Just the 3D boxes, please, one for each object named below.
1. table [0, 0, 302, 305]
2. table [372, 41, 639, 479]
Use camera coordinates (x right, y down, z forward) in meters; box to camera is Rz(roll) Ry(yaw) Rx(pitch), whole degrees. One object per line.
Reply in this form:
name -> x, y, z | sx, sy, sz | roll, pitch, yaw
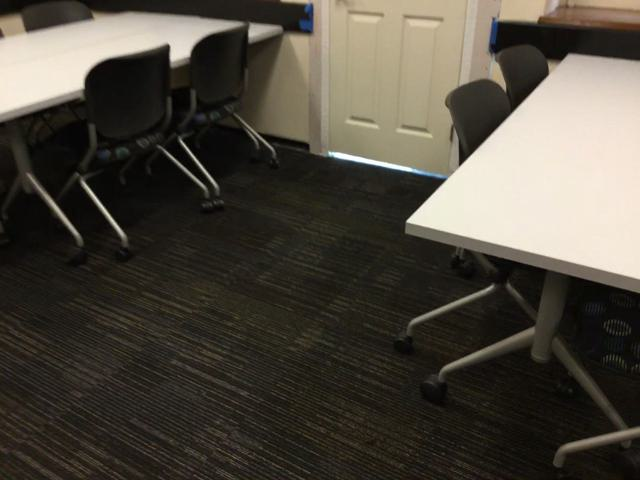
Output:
table -> -1.180, -0.670, 2.980 | 1.430, 0.830, 1.780 | 17, 33, 25
table -> 0.860, -0.050, 1.930 | 0.640, 0.810, 1.720 | 16, 35, 28
